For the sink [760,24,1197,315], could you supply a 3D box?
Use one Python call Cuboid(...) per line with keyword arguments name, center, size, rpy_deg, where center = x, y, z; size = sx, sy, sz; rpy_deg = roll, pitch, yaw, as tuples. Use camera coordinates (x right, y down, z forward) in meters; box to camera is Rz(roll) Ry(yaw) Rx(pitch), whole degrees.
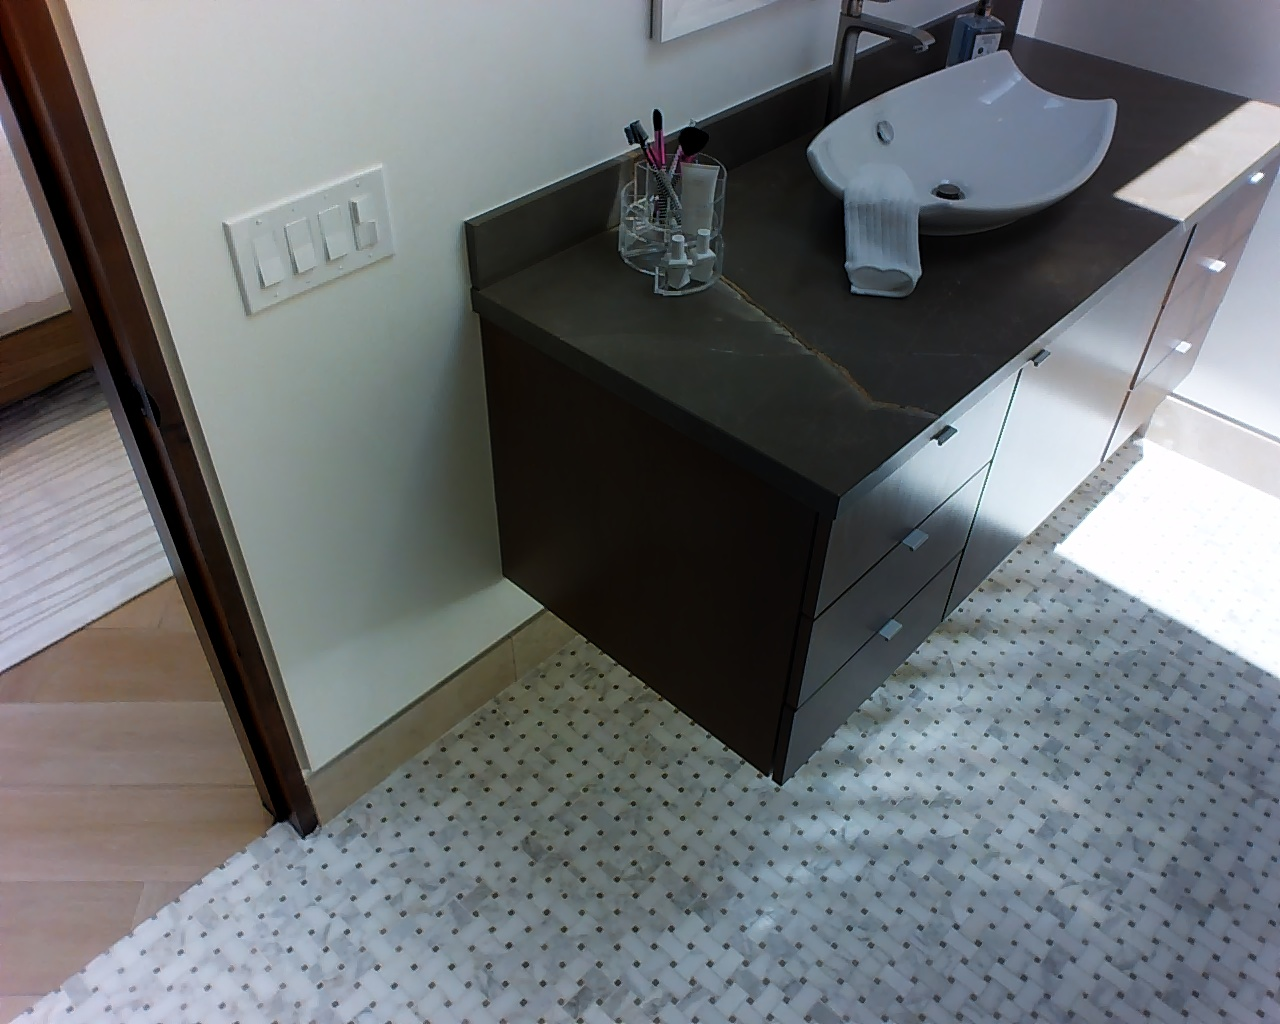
Cuboid(name="sink", center=(0.560, -0.590, 1.750), size=(0.380, 0.160, 0.660), rpy_deg=(33, 51, 30))
